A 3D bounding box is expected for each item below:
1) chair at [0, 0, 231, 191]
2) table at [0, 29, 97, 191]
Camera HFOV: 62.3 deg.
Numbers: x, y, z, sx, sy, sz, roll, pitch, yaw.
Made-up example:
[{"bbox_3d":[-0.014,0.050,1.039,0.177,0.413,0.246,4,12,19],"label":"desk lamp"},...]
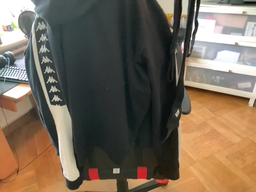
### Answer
[{"bbox_3d":[-0.070,0.090,1.130,0.700,1.380,0.620,-2,33,0],"label":"chair"},{"bbox_3d":[-0.900,0.070,1.710,0.620,0.840,1.230,14,36,23],"label":"table"}]
